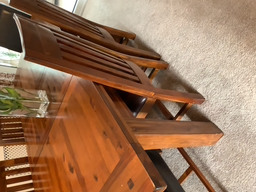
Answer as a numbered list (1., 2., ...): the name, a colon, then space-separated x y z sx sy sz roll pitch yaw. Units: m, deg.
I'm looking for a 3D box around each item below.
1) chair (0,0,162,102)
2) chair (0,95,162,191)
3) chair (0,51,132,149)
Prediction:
1. chair: -0.340 -0.330 1.580 0.470 1.000 0.510 54 125 39
2. chair: -0.360 0.370 1.490 0.460 1.040 0.500 52 123 40
3. chair: -0.570 0.060 1.810 0.480 1.000 0.510 53 124 39
